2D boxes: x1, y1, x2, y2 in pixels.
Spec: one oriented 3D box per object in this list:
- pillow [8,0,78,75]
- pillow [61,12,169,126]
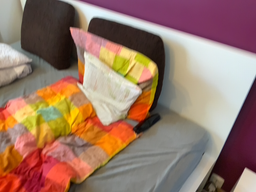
[{"bbox_3d":[-0.620,-0.460,1.550,0.540,0.410,0.150,30,46,30],"label":"pillow"},{"bbox_3d":[-0.070,-0.160,1.160,0.540,0.420,0.190,30,53,31],"label":"pillow"}]
